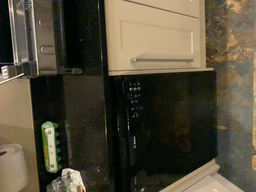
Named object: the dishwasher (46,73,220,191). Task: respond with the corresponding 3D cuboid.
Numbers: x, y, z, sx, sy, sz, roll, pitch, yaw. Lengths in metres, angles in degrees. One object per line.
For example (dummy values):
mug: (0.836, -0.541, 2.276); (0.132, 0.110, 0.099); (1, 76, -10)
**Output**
dishwasher: (0.070, 0.180, 1.380); (0.630, 0.920, 0.600); (3, 98, 49)
